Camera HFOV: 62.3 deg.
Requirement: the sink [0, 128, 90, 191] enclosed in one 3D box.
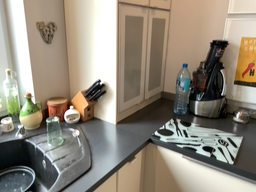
[{"bbox_3d":[-0.500,0.370,0.850,0.560,0.190,0.400,14,22,32],"label":"sink"}]
